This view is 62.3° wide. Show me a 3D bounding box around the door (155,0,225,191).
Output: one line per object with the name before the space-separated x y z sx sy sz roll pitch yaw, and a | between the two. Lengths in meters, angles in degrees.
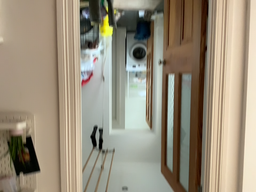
door | 0.410 -0.220 1.610 0.150 2.080 0.830 0 -174 -7
